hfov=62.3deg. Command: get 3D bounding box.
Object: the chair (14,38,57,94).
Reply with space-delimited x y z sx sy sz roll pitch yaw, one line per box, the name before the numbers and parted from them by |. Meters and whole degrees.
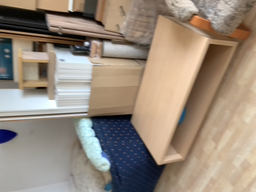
chair | -0.980 -0.320 2.220 0.520 0.360 0.390 51 136 50
